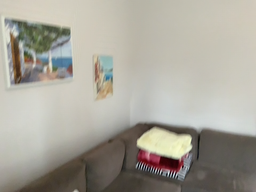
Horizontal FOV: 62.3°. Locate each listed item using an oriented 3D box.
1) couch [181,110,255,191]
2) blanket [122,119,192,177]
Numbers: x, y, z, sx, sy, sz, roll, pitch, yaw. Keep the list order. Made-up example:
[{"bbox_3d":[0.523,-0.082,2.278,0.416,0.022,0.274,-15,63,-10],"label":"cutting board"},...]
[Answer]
[{"bbox_3d":[1.100,0.790,2.480,0.720,1.020,0.940,5,10,26],"label":"couch"},{"bbox_3d":[0.410,0.630,2.830,0.690,0.390,0.780,6,10,28],"label":"blanket"}]
